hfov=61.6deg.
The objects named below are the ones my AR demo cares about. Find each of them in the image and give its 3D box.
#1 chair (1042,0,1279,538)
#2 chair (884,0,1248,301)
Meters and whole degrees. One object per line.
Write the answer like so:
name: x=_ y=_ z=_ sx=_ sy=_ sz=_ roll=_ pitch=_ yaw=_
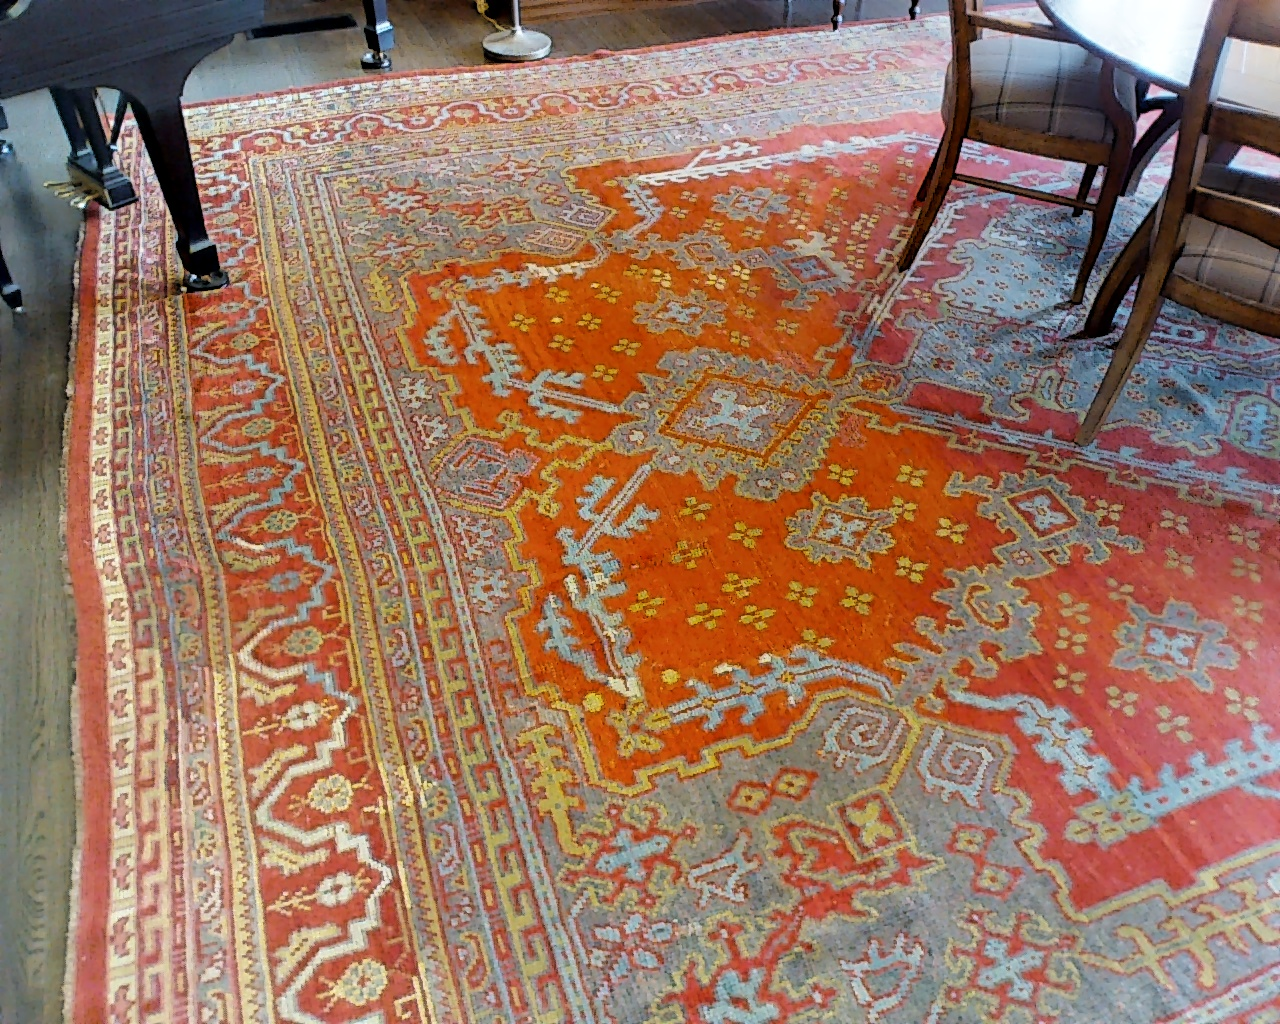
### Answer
chair: x=1.300 y=-0.560 z=2.090 sx=0.580 sy=1.020 sz=0.570 roll=26 pitch=49 yaw=25
chair: x=1.070 y=-1.180 z=2.760 sx=0.660 sy=1.010 sz=0.590 roll=11 pitch=44 yaw=11
